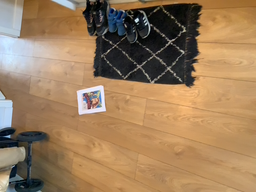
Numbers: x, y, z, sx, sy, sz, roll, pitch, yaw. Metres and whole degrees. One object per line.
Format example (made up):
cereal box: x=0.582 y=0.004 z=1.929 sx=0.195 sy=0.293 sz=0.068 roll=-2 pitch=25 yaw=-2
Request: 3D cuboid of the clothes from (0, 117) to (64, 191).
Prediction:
clothes: x=-1.330 y=0.590 z=1.710 sx=0.800 sy=1.270 sz=0.500 roll=18 pitch=99 yaw=32
